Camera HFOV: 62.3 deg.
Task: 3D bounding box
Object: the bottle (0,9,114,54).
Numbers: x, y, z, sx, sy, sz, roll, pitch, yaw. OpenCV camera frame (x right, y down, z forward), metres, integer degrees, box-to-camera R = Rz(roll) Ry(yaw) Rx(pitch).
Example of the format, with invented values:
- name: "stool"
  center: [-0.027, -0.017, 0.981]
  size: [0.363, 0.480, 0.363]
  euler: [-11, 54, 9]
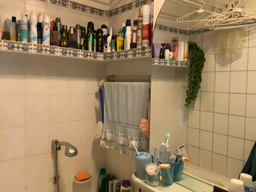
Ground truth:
- name: "bottle"
  center: [-0.570, -0.390, 1.270]
  size: [1.120, 0.140, 0.130]
  euler: [-2, 5, -42]
